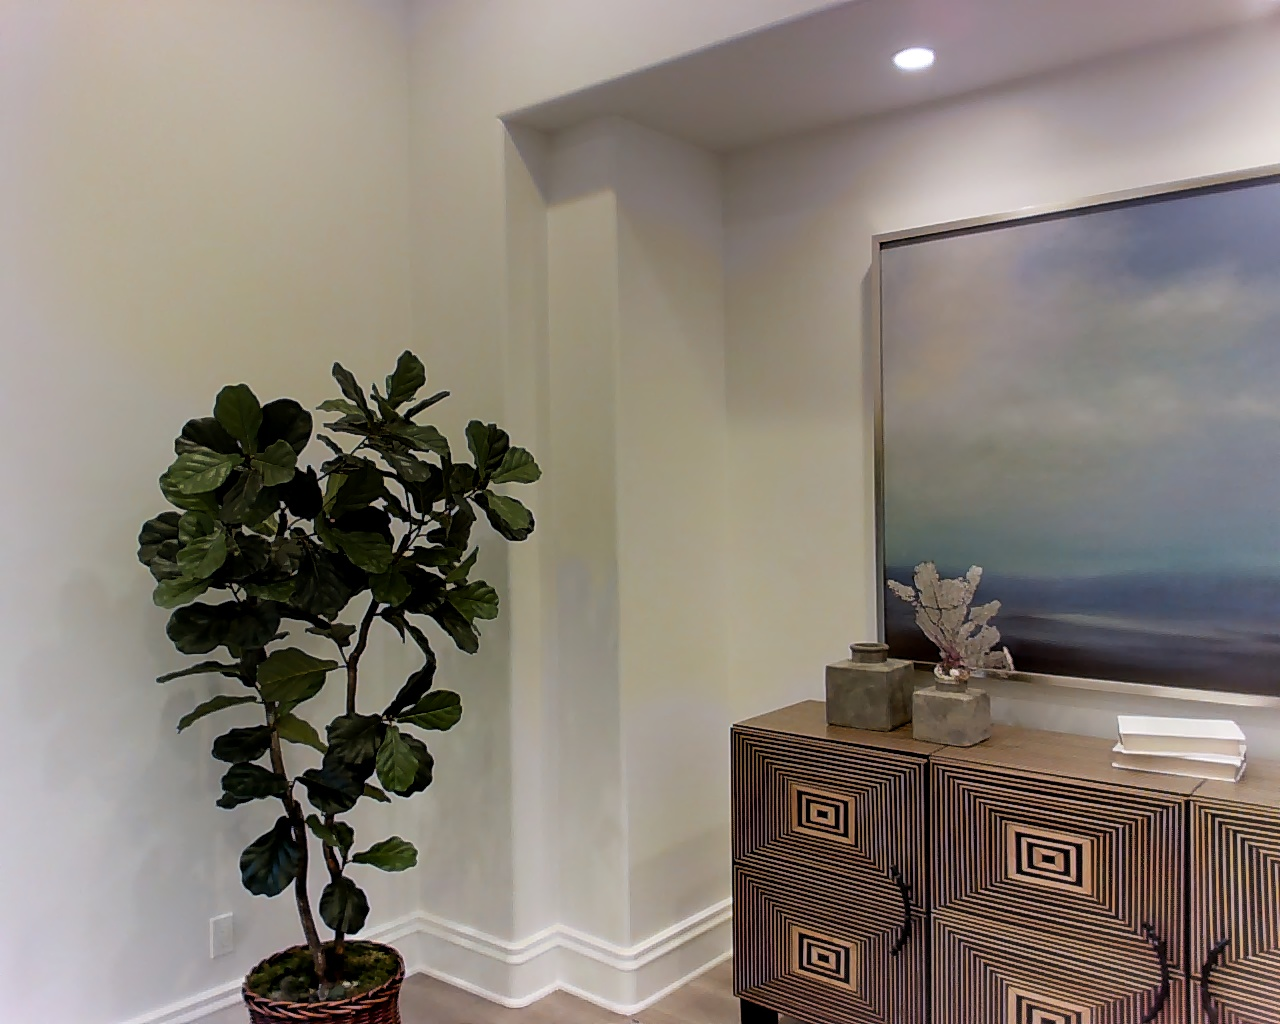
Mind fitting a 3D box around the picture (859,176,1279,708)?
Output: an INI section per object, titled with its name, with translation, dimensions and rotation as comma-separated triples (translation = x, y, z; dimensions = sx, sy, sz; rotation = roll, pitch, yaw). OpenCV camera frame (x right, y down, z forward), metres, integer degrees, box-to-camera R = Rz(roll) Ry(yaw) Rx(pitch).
[picture]
translation = 1.240, -0.150, 2.840
dimensions = 1.350, 1.250, 0.130
rotation = -2, 1, 41
